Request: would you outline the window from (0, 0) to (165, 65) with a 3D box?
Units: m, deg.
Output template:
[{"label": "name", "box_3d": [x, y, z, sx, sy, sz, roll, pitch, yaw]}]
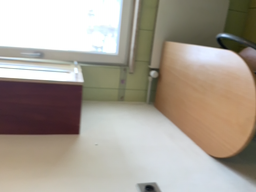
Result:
[{"label": "window", "box_3d": [-0.500, -0.670, 1.520, 0.130, 1.580, 0.760, -134, 48, -68]}]
